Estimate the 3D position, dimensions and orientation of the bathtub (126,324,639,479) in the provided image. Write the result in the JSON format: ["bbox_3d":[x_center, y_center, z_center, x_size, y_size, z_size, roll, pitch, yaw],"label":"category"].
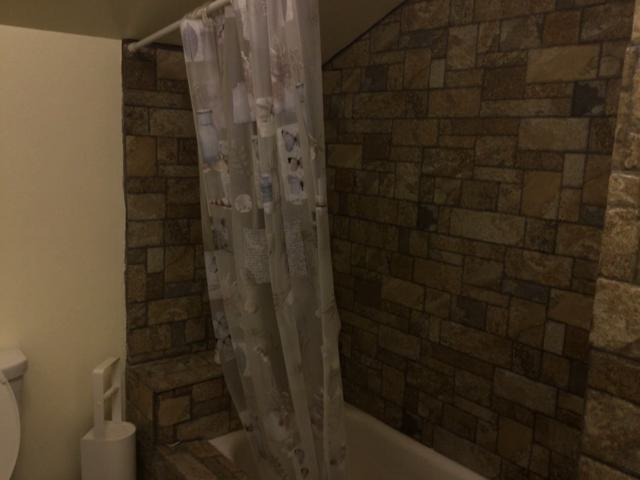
[{"bbox_3d":[0.130,0.850,1.810,0.840,0.670,1.620,-7,11,-39],"label":"bathtub"}]
